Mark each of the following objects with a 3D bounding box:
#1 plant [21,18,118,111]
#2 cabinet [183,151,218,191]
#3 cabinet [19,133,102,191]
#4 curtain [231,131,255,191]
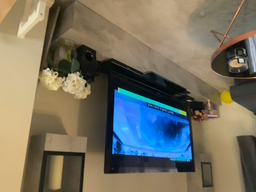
[{"bbox_3d":[-0.460,-0.200,1.740,0.550,0.480,0.490,17,157,-41],"label":"plant"},{"bbox_3d":[1.090,1.360,3.140,0.260,1.020,0.520,-14,157,40],"label":"cabinet"},{"bbox_3d":[-0.510,0.820,1.590,0.250,1.000,0.530,-14,157,40],"label":"cabinet"},{"bbox_3d":[1.720,1.230,2.910,0.360,1.450,0.160,-15,157,41],"label":"curtain"}]
